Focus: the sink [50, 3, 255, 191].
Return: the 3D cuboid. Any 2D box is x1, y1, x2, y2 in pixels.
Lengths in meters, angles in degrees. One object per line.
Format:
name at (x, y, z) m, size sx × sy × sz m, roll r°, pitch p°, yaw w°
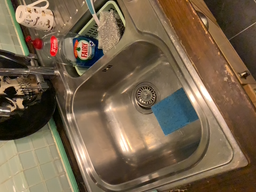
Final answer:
sink at (0.070, 0.090, 0.710) m, size 0.520 × 0.280 × 0.450 m, roll -34°, pitch 74°, yaw 32°
